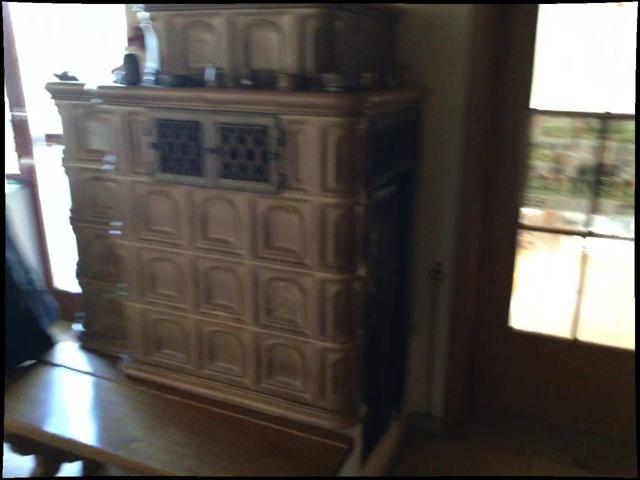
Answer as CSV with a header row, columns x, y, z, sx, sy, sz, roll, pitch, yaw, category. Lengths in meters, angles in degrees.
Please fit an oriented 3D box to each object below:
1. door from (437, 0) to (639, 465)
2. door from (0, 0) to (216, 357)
x,y,z,sx,sy,sz,roll,pitch,yaw,category
1.029,-0.100,2.240,0.899,1.862,0.340,9,19,18,door
-1.169,-0.521,3.060,1.129,2.072,0.440,9,19,18,door
